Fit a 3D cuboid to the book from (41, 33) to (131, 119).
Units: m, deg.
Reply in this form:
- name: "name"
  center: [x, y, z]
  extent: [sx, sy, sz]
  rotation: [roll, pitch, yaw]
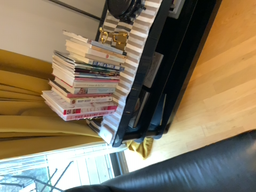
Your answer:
- name: "book"
  center: [-0.220, -0.100, 1.100]
  extent: [0.260, 0.290, 0.340]
  rotation: [28, 107, 39]
